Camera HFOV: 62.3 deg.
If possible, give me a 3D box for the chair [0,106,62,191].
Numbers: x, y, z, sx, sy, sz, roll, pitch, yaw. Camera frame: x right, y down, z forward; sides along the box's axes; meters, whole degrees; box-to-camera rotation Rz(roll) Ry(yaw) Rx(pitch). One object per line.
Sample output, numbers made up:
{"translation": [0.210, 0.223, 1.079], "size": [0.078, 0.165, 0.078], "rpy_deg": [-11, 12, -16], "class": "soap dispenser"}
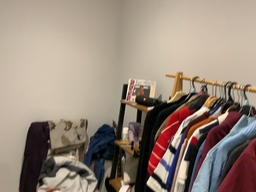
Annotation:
{"translation": [-0.870, 0.630, 1.780], "size": [0.470, 0.950, 0.560], "rpy_deg": [-3, 12, -33], "class": "chair"}
